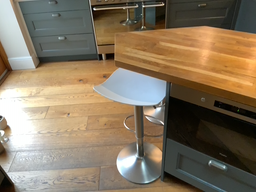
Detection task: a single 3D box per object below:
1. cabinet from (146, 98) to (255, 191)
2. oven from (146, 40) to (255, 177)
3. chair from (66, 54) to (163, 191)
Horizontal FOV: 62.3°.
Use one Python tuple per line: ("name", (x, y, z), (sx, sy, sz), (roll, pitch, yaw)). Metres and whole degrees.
("cabinet", (0.500, 0.400, 1.320), (0.700, 0.470, 0.330), (21, 45, 27))
("oven", (0.480, 0.050, 1.050), (0.700, 0.410, 0.330), (21, 45, 27))
("chair", (-0.040, 0.190, 1.390), (0.380, 0.760, 0.410), (16, 43, 22))
